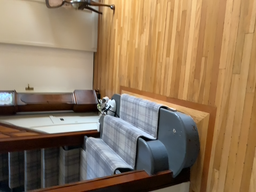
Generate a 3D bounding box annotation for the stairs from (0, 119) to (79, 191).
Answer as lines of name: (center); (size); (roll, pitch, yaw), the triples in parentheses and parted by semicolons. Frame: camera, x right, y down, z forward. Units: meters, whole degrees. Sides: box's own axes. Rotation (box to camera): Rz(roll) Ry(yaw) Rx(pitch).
stairs: (-1.230, 0.870, 2.660); (0.800, 0.310, 1.790); (-47, 24, -14)
